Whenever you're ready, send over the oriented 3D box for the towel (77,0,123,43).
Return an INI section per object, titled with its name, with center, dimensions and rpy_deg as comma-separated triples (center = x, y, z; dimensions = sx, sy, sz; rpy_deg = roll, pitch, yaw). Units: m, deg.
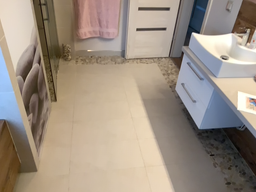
[towel]
center = -0.390, -1.120, 2.950
dimensions = 0.590, 0.720, 0.210
rpy_deg = -1, 37, -9
